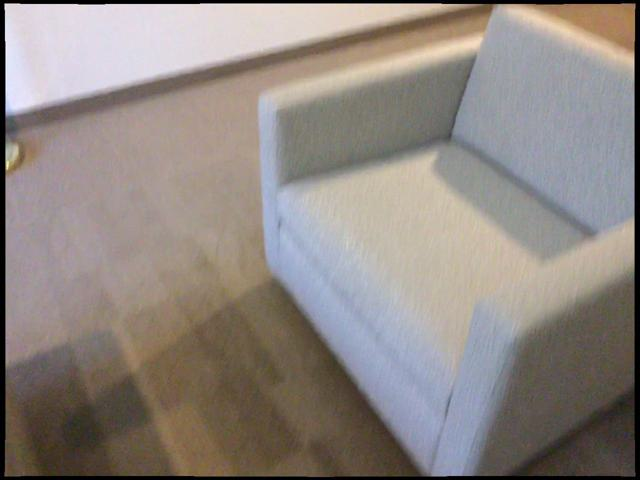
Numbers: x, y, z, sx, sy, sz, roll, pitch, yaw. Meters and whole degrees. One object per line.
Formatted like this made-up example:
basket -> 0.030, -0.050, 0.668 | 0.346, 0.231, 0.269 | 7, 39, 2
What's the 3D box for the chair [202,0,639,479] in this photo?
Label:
chair -> 0.349, -0.020, 1.410 | 0.859, 0.751, 0.940 | -23, 47, -25
